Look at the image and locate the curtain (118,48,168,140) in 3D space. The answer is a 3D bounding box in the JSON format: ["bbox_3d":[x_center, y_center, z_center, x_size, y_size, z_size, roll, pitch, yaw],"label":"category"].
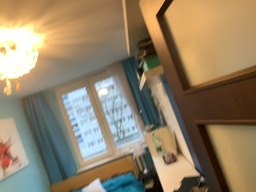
[{"bbox_3d":[0.270,-0.040,3.940,0.340,1.680,0.140,-21,-2,2],"label":"curtain"}]

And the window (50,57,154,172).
[{"bbox_3d":[-0.520,0.370,4.260,1.520,1.850,0.180,-21,-2,2],"label":"window"}]

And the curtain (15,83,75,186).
[{"bbox_3d":[-1.560,0.710,4.020,0.480,1.840,0.180,-21,-2,-2],"label":"curtain"}]
